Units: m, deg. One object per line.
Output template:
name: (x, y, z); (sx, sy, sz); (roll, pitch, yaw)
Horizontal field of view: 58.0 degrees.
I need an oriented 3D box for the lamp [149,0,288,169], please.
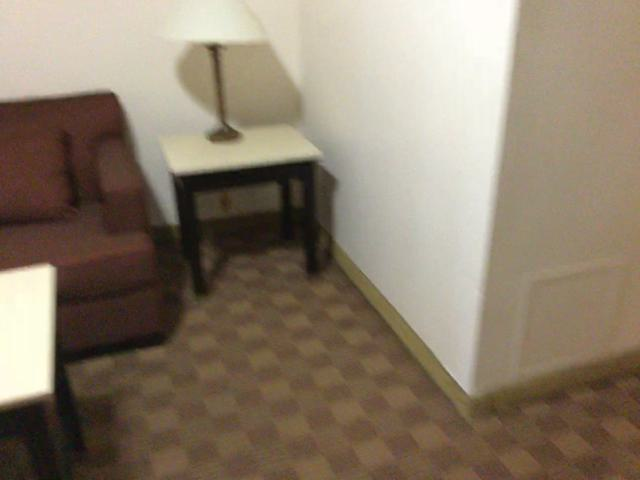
lamp: (-0.410, -0.710, 2.330); (0.440, 0.720, 0.380); (-10, 26, -20)
